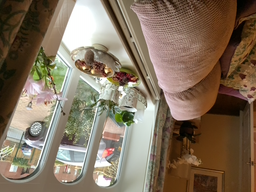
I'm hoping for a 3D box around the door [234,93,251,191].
[{"bbox_3d":[1.820,1.000,3.400,0.090,1.930,0.790,4,159,18],"label":"door"}]
